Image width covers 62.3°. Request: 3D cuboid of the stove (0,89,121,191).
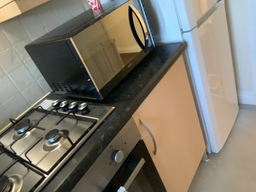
[{"bbox_3d":[-0.410,0.180,0.800,0.560,0.040,0.600,5,41,40],"label":"stove"}]
